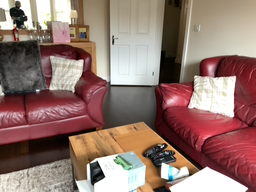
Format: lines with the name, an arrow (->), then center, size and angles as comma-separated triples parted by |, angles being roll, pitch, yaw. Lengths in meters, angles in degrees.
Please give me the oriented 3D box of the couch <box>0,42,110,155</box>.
couch -> -1.160, -0.070, 2.390 | 1.660, 0.910, 1.010 | -8, 22, -24
